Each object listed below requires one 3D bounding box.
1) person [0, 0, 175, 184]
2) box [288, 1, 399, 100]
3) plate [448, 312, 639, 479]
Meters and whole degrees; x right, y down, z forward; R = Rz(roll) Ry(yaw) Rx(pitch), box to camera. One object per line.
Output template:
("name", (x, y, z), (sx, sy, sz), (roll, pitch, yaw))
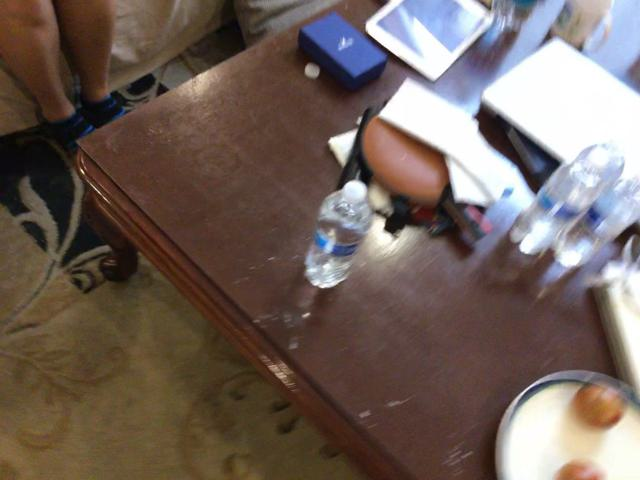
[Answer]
("person", (-0.480, -0.380, 1.170), (0.150, 0.470, 0.310), (42, 62, 15))
("box", (0.040, -0.340, 1.030), (0.160, 0.050, 0.110), (42, 62, 15))
("plate", (0.340, 0.270, 0.690), (0.250, 0.070, 0.270), (42, 62, 15))
